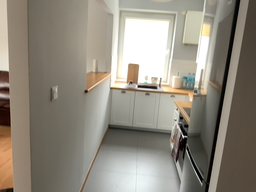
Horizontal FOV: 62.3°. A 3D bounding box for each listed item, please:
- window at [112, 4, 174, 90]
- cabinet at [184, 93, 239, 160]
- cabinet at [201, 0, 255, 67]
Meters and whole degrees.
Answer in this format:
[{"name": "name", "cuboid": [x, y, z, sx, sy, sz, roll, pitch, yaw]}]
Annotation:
[{"name": "window", "cuboid": [0.290, -1.040, 4.630, 1.180, 1.720, 0.130, 5, 12, 2]}, {"name": "cabinet", "cuboid": [1.360, 0.480, 3.610, 0.580, 0.890, 0.690, 5, 12, 3]}, {"name": "cabinet", "cuboid": [1.610, -1.140, 3.490, 0.350, 1.210, 1.060, 5, 12, 3]}]
